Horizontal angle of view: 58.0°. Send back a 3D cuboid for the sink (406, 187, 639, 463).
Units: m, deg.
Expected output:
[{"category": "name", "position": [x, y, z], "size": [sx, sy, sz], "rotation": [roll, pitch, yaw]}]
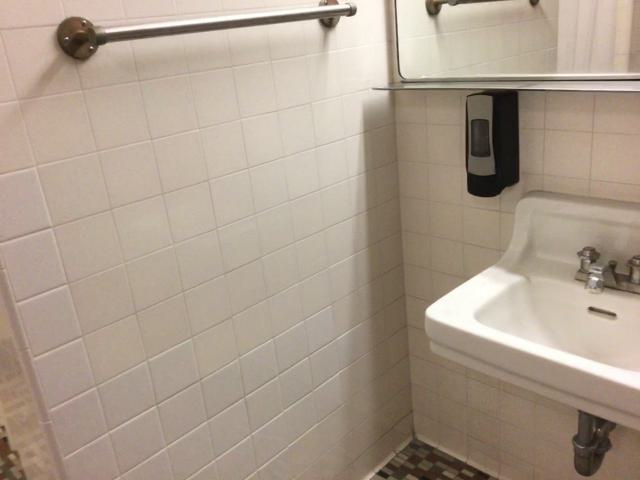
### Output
[{"category": "sink", "position": [0.530, 0.120, 1.160], "size": [0.520, 0.310, 0.460], "rotation": [12, 25, 43]}]
